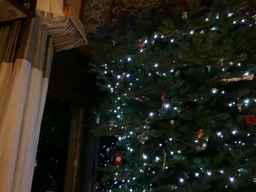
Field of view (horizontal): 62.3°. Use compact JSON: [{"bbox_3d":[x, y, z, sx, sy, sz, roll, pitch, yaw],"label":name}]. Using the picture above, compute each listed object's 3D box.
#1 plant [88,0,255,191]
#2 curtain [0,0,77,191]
[{"bbox_3d":[0.630,0.680,1.820,1.620,3.150,1.390,8,162,-21],"label":"plant"},{"bbox_3d":[-0.880,0.810,1.490,0.530,3.190,0.650,12,160,-31],"label":"curtain"}]
